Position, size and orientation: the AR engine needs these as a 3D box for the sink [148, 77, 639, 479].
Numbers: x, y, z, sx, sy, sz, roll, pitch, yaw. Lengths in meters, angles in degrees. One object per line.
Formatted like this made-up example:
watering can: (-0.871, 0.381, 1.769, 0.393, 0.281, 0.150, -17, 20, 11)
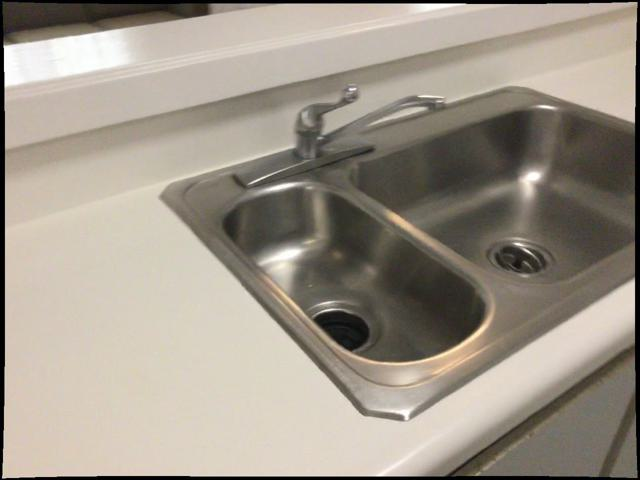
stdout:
sink: (0.229, -0.010, 0.980, 0.829, 0.220, 0.580, -22, 39, -27)
